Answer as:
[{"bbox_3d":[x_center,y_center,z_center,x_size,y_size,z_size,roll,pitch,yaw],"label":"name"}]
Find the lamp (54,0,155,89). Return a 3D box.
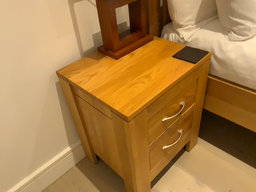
[{"bbox_3d":[-0.080,-0.360,0.850,0.340,0.540,0.200,-33,46,-29],"label":"lamp"}]
